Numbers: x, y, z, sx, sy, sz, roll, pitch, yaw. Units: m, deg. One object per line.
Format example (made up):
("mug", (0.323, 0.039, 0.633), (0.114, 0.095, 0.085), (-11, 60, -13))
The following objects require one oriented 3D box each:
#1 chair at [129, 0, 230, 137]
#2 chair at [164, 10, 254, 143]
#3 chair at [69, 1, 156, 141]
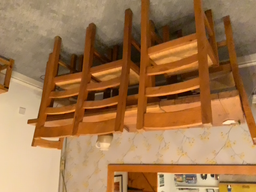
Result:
("chair", (0.320, -0.230, 1.360), (0.420, 0.900, 0.490), (-11, 160, 31))
("chair", (0.630, -0.110, 1.700), (0.510, 0.900, 0.400), (-10, 159, 27))
("chair", (-0.090, -0.140, 1.650), (0.410, 0.900, 0.500), (-10, 160, 29))
